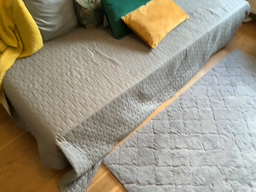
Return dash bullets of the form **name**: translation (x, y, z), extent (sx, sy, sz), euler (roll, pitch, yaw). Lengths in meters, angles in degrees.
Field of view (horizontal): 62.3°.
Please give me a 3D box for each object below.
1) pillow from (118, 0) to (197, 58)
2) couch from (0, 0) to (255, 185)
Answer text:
- **pillow**: translation (0.220, -0.550, 1.520), extent (0.310, 0.170, 0.570), euler (28, 54, 19)
- **couch**: translation (0.070, -0.530, 1.620), extent (2.080, 0.680, 0.950), euler (-37, 61, -28)
